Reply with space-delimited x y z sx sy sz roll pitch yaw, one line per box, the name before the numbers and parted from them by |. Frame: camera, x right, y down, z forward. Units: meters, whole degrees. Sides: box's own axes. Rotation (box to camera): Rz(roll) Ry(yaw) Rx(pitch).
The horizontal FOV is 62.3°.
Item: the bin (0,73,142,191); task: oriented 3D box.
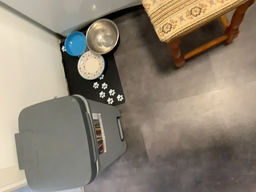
bin | -0.180 0.150 0.880 0.290 0.510 0.320 -19 80 15
